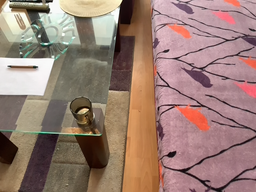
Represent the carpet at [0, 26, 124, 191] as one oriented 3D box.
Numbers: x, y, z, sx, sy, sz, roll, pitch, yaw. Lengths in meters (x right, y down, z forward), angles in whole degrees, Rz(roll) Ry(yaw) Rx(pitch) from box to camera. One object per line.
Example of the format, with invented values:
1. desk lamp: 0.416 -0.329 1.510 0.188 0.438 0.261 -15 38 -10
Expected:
1. carpet: -0.950 -0.030 1.520 1.800 0.090 1.400 1 54 0
